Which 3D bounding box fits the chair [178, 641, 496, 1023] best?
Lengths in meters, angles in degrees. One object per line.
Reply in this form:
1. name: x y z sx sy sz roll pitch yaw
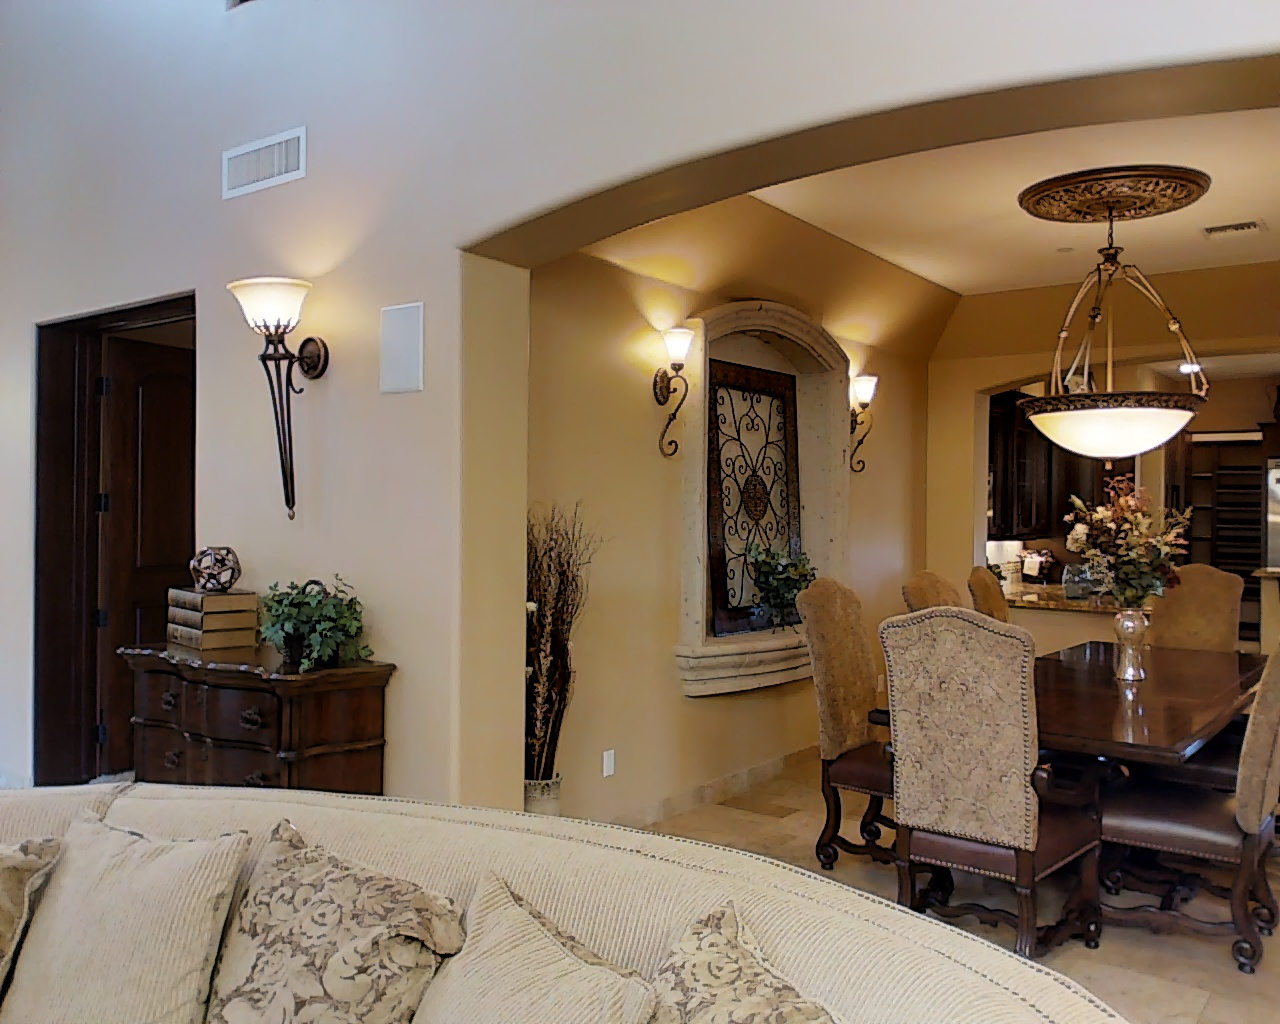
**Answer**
1. chair: -1.010 1.110 3.610 0.690 1.220 0.760 1 0 35
